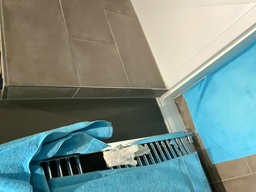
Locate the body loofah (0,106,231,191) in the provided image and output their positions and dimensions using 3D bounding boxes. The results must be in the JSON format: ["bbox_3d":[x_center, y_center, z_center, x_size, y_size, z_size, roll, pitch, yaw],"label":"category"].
[{"bbox_3d":[0.040,0.520,0.850,0.090,1.240,0.970,-41,59,46],"label":"body loofah"}]
